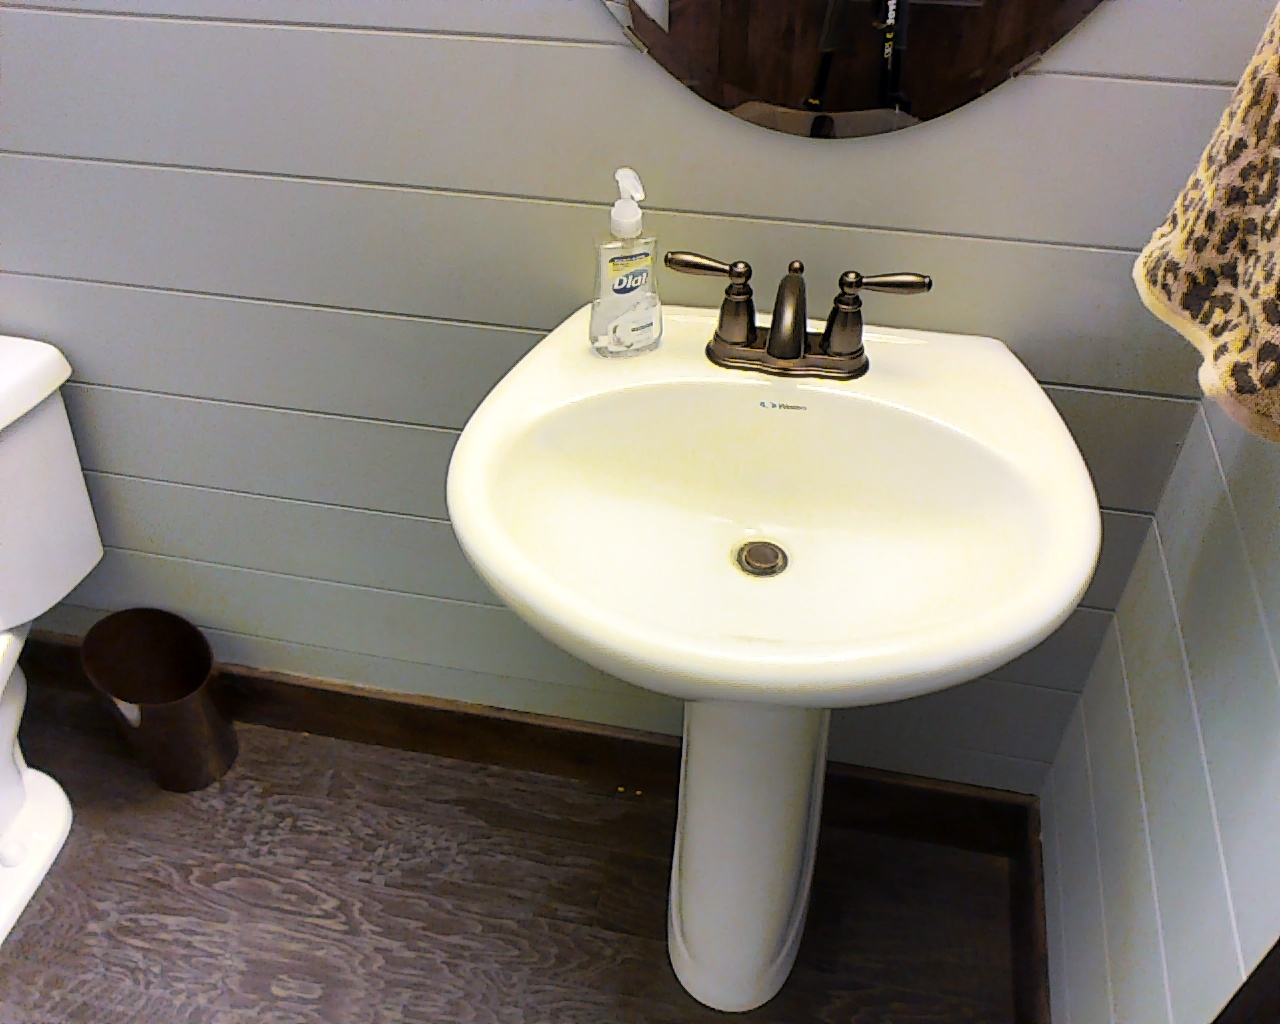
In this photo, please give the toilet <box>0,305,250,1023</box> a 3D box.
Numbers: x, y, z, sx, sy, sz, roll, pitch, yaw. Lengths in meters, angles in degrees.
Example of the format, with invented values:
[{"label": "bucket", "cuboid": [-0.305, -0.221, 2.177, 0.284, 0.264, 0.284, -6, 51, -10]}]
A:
[{"label": "toilet", "cuboid": [-0.960, 0.270, 1.290, 0.460, 0.750, 0.790, 7, 41, 9]}]
